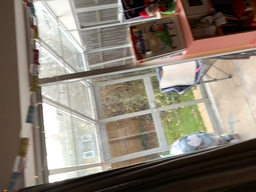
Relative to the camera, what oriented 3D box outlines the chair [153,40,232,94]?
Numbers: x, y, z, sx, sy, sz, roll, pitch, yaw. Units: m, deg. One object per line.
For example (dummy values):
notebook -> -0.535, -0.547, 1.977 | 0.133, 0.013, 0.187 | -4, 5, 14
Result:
chair -> 0.910, -0.400, 3.120 | 0.530, 0.890, 0.590 | -179, 79, -82
